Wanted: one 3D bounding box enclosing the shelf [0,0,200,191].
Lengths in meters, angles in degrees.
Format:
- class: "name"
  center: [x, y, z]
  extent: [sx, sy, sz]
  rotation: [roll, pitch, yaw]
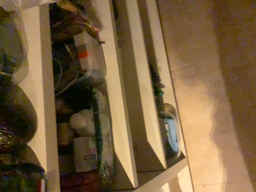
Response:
- class: "shelf"
  center: [-0.070, 0.180, 0.650]
  extent: [0.320, 1.240, 1.840]
  rotation: [-15, 76, 22]
